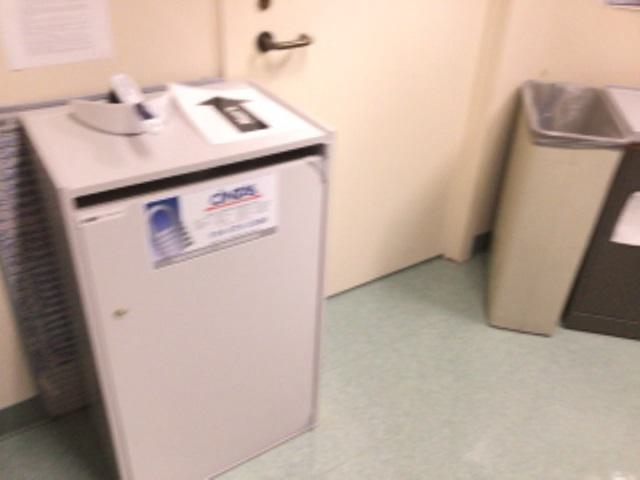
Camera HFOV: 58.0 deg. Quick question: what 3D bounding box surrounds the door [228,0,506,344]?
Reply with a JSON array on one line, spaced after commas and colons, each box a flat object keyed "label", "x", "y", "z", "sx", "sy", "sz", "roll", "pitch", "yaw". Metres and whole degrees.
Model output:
[{"label": "door", "x": 0.170, "y": -0.620, "z": 1.620, "sx": 0.860, "sy": 1.940, "sz": 0.110, "roll": -18, "pitch": 37, "yaw": -25}]

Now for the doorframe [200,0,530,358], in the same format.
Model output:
[{"label": "doorframe", "x": 0.180, "y": -0.610, "z": 1.600, "sx": 1.010, "sy": 1.950, "sz": 0.120, "roll": -18, "pitch": 37, "yaw": -25}]
